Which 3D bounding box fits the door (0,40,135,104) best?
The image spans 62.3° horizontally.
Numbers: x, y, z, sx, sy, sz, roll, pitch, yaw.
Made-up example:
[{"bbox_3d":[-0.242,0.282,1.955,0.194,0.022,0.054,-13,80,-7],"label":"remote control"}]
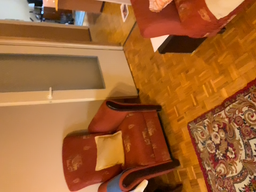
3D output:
[{"bbox_3d":[-0.920,-0.320,2.670,0.150,1.960,0.800,123,137,-51],"label":"door"}]
